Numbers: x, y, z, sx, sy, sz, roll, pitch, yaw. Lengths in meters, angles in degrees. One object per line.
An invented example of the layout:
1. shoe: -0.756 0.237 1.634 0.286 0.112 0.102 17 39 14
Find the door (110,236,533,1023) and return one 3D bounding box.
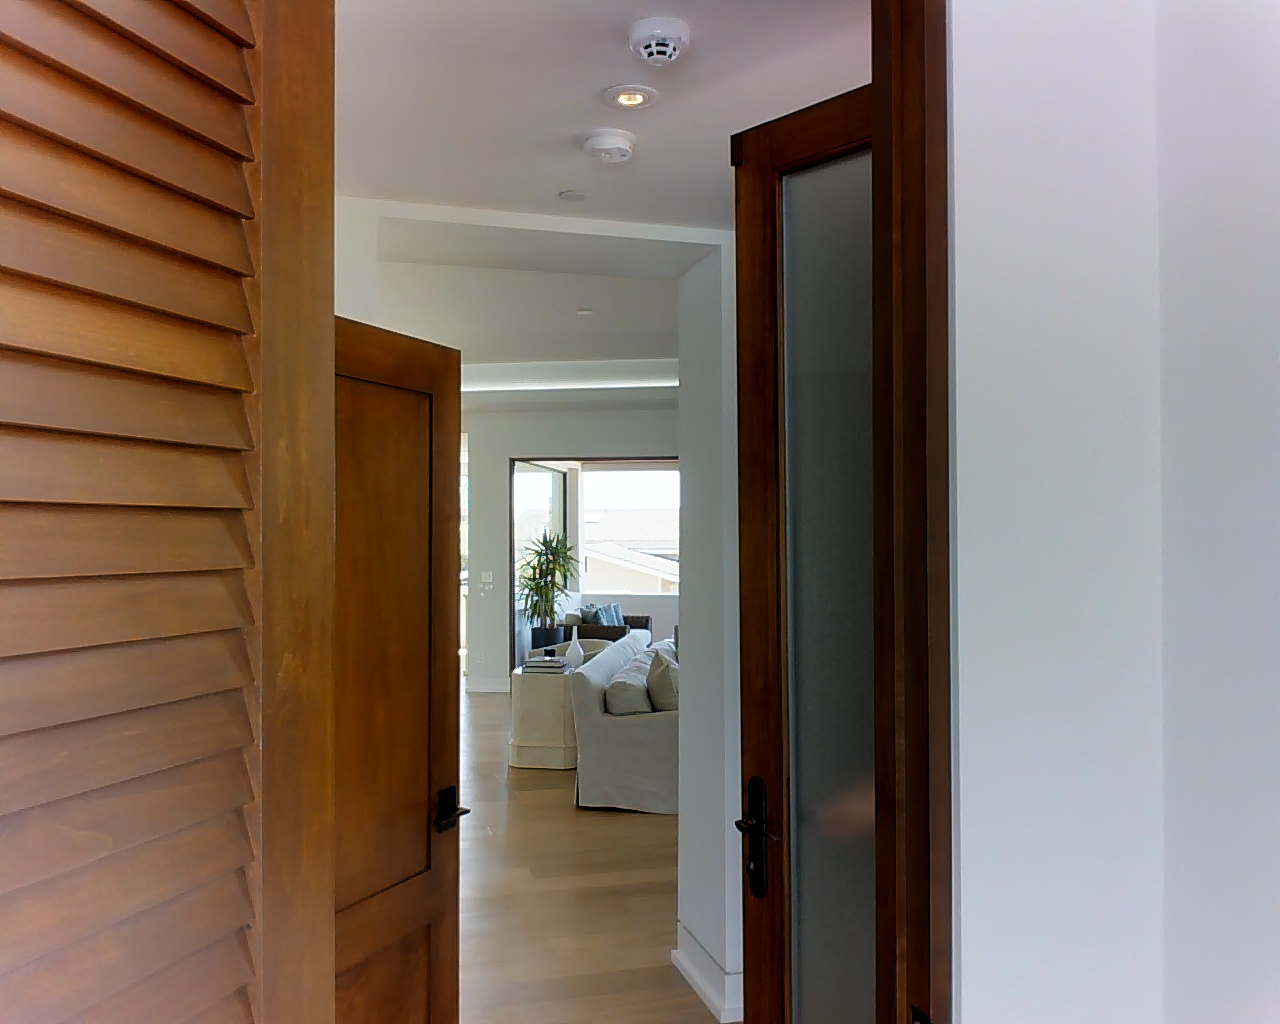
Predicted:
1. door: -0.620 0.570 2.320 0.250 2.080 0.950 0 -1 30
